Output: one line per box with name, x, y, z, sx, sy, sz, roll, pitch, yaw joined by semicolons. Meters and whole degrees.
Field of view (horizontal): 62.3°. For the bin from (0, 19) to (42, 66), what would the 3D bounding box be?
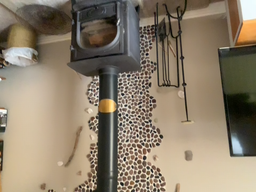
bin;-1.160;-0.550;2.240;0.350;0.350;0.280;-4;168;16
